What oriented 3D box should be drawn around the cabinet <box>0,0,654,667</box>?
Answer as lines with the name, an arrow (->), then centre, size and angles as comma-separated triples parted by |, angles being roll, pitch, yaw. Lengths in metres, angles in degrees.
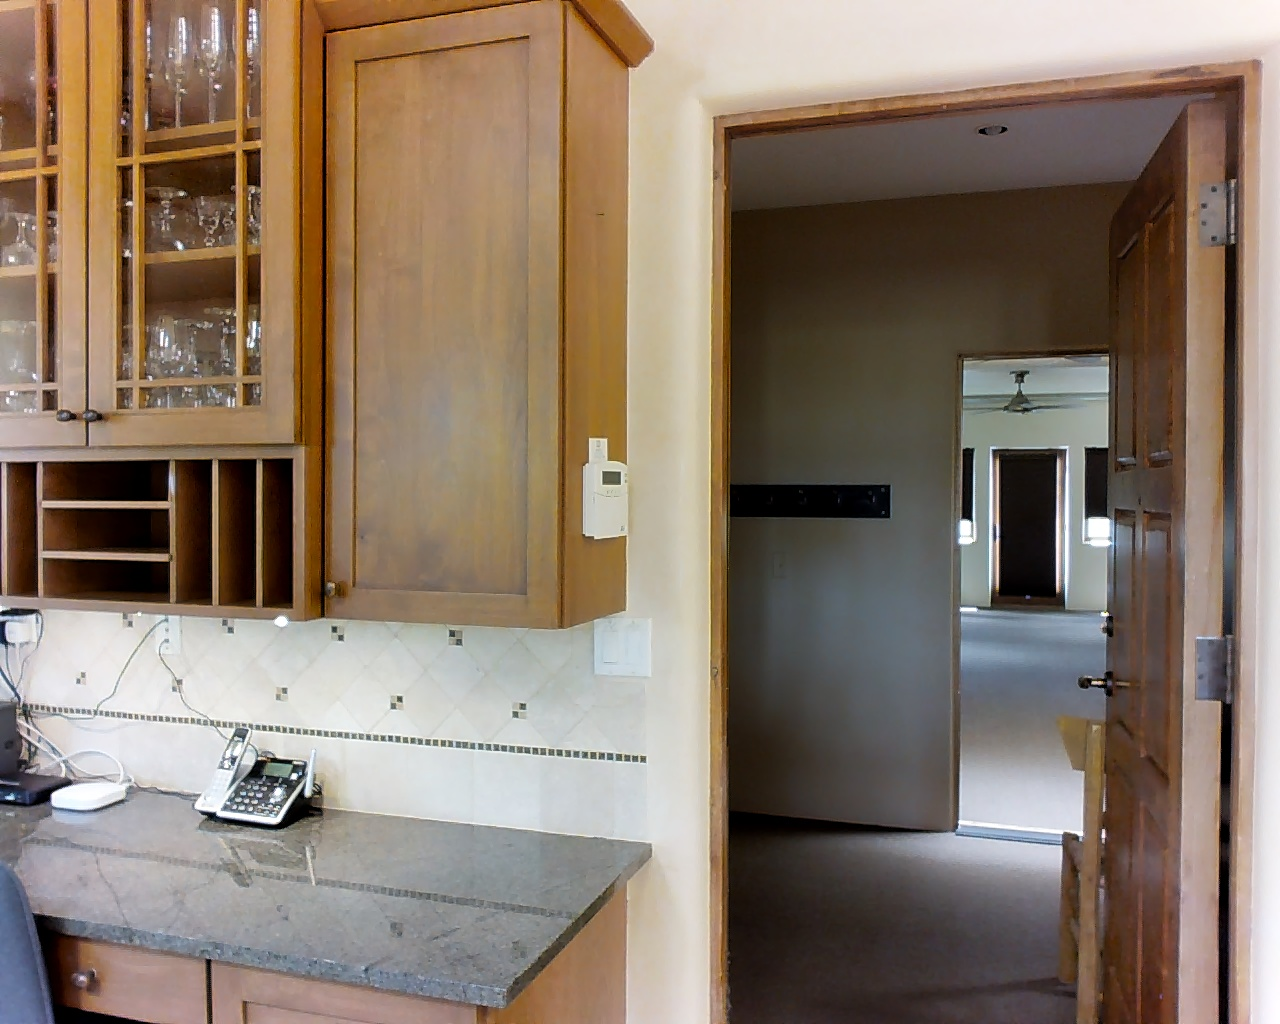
cabinet -> -0.920, -0.510, 2.100 | 1.840, 1.470, 0.440 | 0, 1, 18
